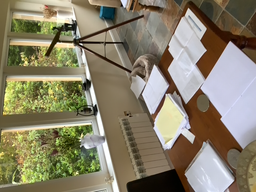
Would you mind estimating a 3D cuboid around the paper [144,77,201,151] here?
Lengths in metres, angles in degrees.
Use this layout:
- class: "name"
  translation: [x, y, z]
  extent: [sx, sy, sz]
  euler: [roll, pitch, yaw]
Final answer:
- class: "paper"
  translation: [0.280, 0.130, 1.480]
  extent: [0.410, 0.110, 0.320]
  euler: [113, 147, -42]

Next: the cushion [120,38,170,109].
- class: "cushion"
  translation: [0.200, -0.340, 3.200]
  extent: [0.650, 0.280, 0.850]
  euler: [112, 147, -41]

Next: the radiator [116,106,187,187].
- class: "radiator"
  translation: [0.260, 0.580, 2.750]
  extent: [0.150, 0.570, 1.030]
  euler: [113, 146, -43]

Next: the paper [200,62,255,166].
- class: "paper"
  translation: [0.500, 0.080, 0.930]
  extent: [0.320, 0.050, 0.320]
  euler: [114, 146, -43]
